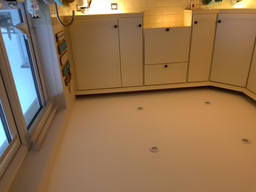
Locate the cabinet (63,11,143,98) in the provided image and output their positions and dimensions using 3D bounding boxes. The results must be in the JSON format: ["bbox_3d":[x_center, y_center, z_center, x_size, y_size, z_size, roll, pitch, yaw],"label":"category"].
[{"bbox_3d":[-0.290,-0.550,2.850,0.950,1.060,0.270,-5,-156,-6],"label":"cabinet"}]
